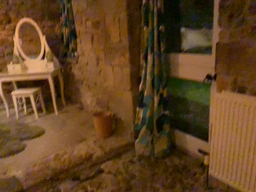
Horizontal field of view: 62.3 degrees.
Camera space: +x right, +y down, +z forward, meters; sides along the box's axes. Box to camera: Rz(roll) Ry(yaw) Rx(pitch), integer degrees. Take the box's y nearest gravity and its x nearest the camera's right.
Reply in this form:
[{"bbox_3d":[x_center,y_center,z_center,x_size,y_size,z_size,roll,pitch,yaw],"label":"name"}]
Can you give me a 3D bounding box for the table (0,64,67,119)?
[{"bbox_3d":[-1.660,-0.100,3.720,0.920,0.740,0.580,-5,18,-1],"label":"table"}]
